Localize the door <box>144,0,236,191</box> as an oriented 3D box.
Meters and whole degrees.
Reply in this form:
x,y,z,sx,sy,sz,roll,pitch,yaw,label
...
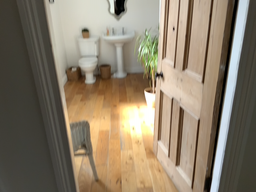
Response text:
x,y,z,sx,sy,sz,roll,pitch,yaw,label
0.310,-0.170,1.430,0.130,2.080,0.830,-8,23,-13,door
